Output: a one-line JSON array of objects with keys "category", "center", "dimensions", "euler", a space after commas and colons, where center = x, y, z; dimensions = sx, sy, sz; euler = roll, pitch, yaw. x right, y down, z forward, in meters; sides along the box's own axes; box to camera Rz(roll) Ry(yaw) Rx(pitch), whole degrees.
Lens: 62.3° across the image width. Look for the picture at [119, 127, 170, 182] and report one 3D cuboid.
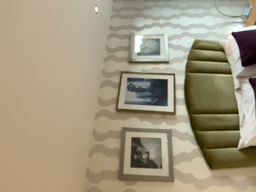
[{"category": "picture", "center": [0.160, 0.520, 1.940], "dimensions": [0.020, 0.440, 0.470], "euler": [81, -168, -61]}]
